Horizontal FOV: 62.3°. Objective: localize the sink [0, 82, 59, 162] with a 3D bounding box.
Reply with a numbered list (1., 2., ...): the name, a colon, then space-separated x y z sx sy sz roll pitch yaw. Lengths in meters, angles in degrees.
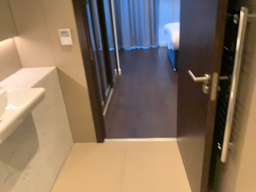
1. sink: -0.810 0.120 1.330 0.490 0.150 0.670 -2 26 6
